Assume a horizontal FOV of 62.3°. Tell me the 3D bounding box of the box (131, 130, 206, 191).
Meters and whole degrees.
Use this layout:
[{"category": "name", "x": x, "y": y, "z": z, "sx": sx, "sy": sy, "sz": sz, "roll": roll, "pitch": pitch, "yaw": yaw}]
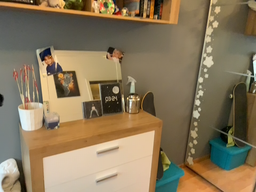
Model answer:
[{"category": "box", "x": 0.400, "y": 0.680, "z": 2.110, "sx": 0.620, "sy": 0.480, "sz": 0.330, "roll": -6, "pitch": 19, "yaw": -31}]
